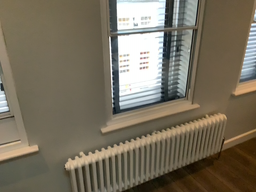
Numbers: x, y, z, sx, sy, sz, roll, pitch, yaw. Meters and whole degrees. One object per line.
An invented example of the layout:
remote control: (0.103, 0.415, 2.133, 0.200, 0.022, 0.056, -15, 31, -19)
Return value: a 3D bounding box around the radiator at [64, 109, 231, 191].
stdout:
radiator: (0.260, 0.510, 1.770, 1.480, 0.490, 0.100, -12, 27, -25)
